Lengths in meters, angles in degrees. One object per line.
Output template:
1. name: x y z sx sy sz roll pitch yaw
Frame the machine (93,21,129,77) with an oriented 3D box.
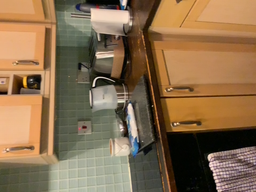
1. machine: -0.120 -0.290 1.340 0.190 0.180 0.280 117 148 -63

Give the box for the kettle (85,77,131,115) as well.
1. kettle: -0.140 0.000 1.370 0.200 0.260 0.170 116 149 -62
